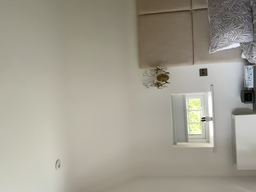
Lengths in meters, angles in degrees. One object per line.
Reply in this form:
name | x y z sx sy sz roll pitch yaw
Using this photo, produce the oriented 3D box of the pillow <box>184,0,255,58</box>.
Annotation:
pillow | 0.970 -0.800 2.090 0.700 0.440 0.180 49 175 -2
